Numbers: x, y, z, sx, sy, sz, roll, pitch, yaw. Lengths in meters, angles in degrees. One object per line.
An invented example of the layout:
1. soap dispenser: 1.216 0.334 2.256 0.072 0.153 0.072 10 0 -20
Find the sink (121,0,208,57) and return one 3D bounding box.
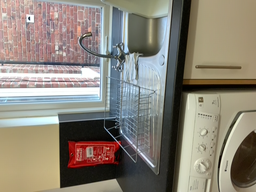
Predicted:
1. sink: 0.140 -0.430 1.000 0.470 0.180 0.450 -149 60 -65
